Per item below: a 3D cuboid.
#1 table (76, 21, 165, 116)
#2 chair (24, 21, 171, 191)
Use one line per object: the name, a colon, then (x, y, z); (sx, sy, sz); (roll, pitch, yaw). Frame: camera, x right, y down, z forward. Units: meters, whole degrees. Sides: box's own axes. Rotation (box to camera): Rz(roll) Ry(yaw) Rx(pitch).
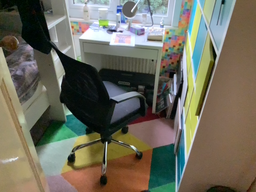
table: (-0.040, -0.320, 2.290); (0.770, 0.740, 0.620); (7, 35, 7)
chair: (-0.190, 0.060, 1.560); (0.610, 0.960, 0.640); (30, 44, 34)
